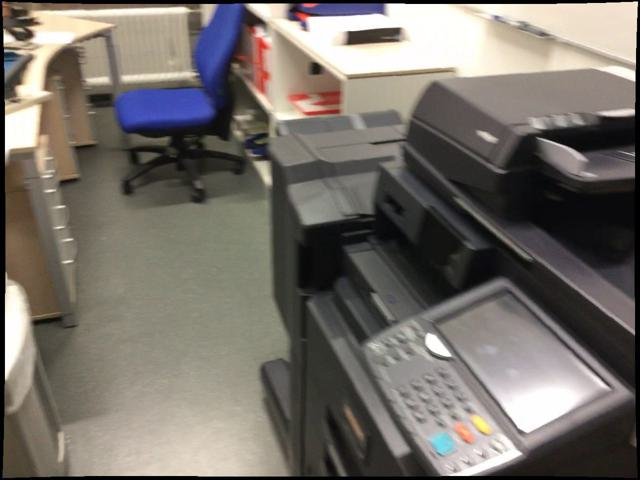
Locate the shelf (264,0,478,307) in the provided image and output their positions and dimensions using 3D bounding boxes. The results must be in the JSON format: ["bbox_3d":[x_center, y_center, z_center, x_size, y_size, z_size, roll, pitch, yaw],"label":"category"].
[{"bbox_3d":[0.120,-0.390,2.370,0.460,0.941,0.830,-11,36,-20],"label":"shelf"}]

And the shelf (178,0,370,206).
[{"bbox_3d":[-0.360,-1.381,3.090,0.500,1.691,1.780,-11,36,-20],"label":"shelf"}]
